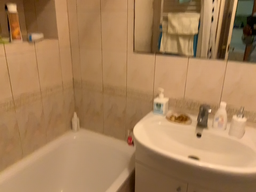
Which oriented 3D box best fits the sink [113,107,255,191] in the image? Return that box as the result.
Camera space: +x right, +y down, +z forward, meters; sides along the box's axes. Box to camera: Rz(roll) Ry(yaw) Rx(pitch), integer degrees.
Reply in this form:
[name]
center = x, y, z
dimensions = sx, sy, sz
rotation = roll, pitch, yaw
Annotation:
[sink]
center = 0.340, 0.280, 1.130
dimensions = 0.700, 0.150, 0.460
rotation = 12, 23, 27
